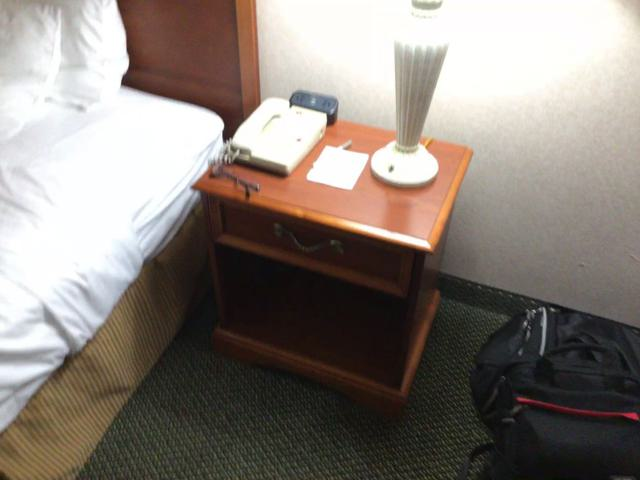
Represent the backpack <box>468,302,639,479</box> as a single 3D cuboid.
[{"bbox_3d":[0.560,0.460,1.240,0.400,0.400,0.390,15,40,15],"label":"backpack"}]
